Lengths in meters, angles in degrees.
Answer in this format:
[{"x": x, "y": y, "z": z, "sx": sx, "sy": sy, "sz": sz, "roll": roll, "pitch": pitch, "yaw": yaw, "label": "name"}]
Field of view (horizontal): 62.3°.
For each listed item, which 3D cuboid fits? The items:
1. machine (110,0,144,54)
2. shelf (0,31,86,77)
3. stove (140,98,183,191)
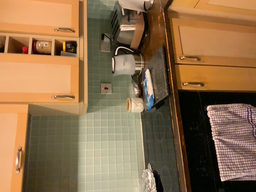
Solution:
[{"x": -0.020, "y": -0.560, "z": 1.680, "sx": 0.320, "sy": 0.180, "sz": 0.330, "roll": 130, "pitch": 139, "yaw": -69, "label": "machine"}, {"x": -0.700, "y": -0.270, "z": 1.420, "sx": 0.320, "sy": 0.810, "sz": 0.150, "roll": 127, "pitch": 142, "yaw": -68, "label": "shelf"}, {"x": 0.180, "y": 0.360, "z": 1.300, "sx": 0.510, "sy": 0.030, "sz": 0.570, "roll": 127, "pitch": 142, "yaw": -68, "label": "stove"}]
